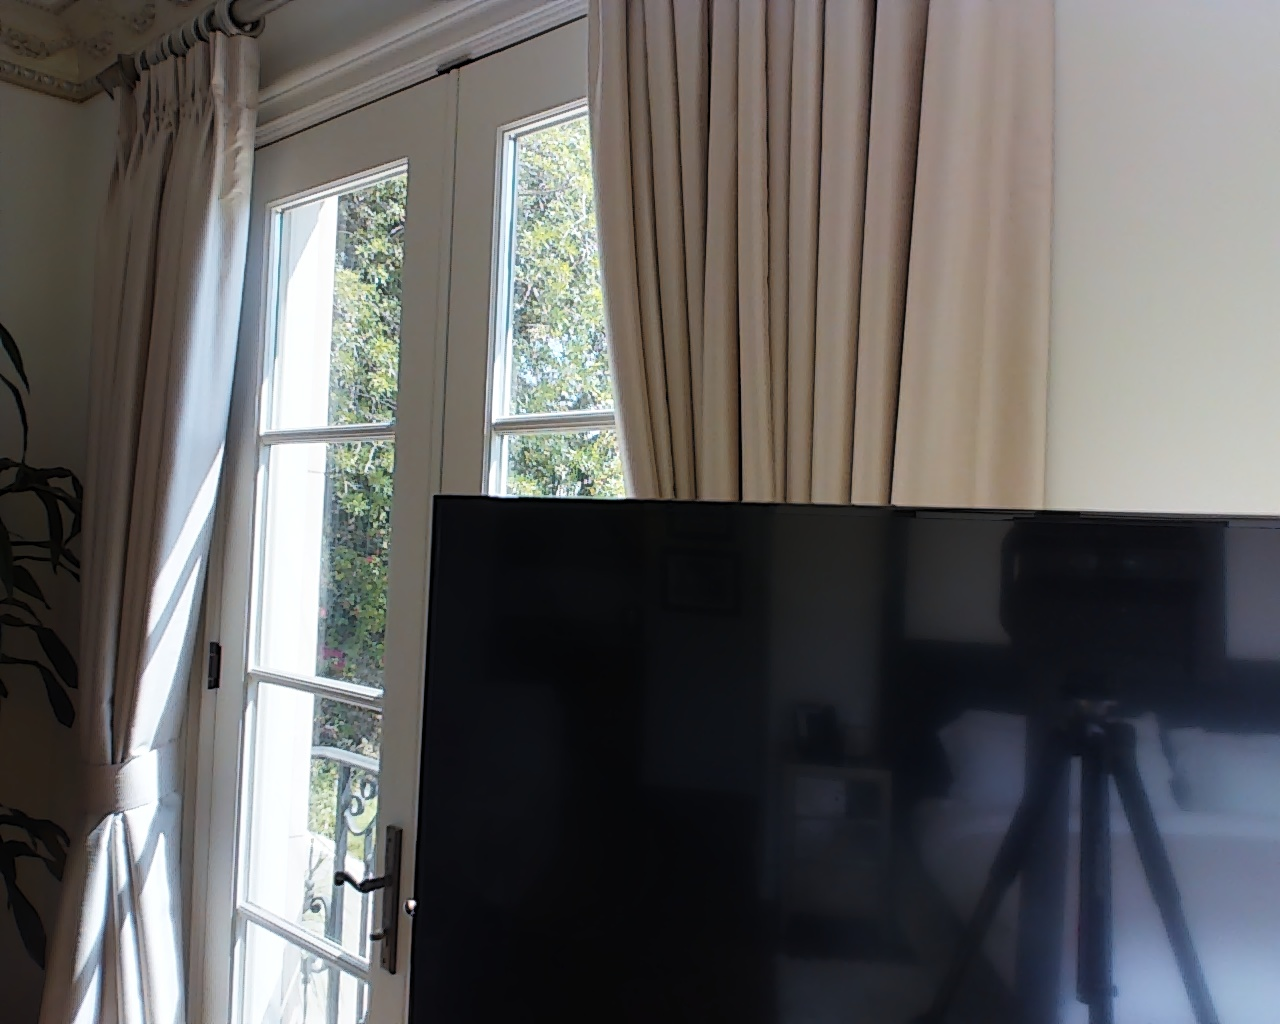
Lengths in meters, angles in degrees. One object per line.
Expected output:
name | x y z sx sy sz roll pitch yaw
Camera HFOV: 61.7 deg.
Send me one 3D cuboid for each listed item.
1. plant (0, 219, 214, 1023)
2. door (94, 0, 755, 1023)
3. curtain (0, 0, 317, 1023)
plant | -1.650 0.460 2.500 0.730 2.171 0.880 2 -2 42
door | -0.530 0.270 1.960 1.560 2.701 0.210 2 -2 42
curtain | -1.170 0.240 2.430 0.800 2.681 0.340 2 -2 42
